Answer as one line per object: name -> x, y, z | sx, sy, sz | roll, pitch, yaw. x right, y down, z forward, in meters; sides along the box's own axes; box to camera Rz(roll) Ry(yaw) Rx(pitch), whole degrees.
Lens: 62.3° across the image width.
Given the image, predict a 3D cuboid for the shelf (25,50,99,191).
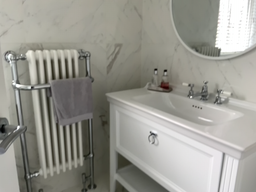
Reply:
shelf -> -0.450, 0.170, 1.550 | 0.430, 0.980, 0.150 | -10, 18, -35
